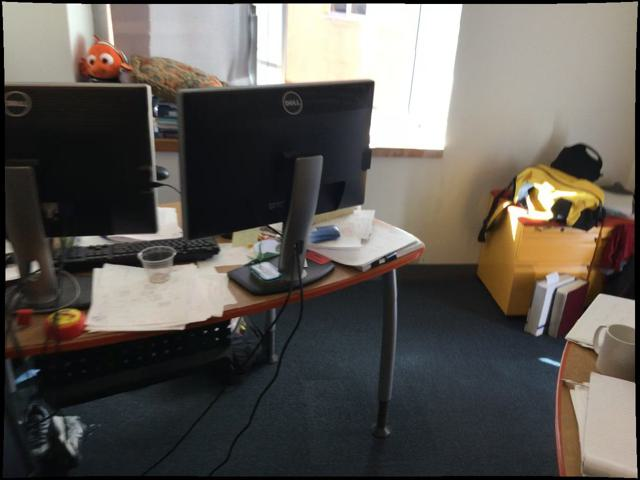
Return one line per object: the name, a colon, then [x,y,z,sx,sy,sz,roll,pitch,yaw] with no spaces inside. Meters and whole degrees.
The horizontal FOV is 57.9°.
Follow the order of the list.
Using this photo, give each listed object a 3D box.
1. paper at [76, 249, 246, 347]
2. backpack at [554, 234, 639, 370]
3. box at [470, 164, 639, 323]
paper: [-0.400,0.130,1.440,0.370,0.050,0.310,-5,28,-19]
backpack: [1.439,0.270,2.610,0.480,0.420,0.460,2,26,-7]
box: [1.129,0.010,2.880,0.509,0.631,0.480,2,26,-7]
